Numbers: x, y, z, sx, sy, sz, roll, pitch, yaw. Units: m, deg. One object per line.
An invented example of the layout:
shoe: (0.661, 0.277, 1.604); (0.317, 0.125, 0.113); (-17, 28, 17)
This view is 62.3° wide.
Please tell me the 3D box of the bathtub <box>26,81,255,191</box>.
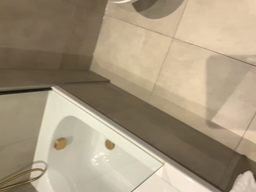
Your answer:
bathtub: (0.190, 0.560, 1.170); (1.570, 0.540, 0.690); (29, 110, 27)
